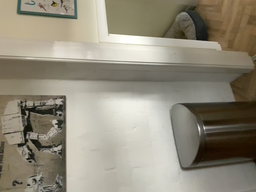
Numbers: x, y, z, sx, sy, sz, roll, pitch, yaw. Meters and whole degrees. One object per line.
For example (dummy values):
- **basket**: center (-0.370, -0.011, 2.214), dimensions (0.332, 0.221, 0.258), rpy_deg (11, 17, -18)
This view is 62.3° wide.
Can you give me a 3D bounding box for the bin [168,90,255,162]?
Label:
- **bin**: center (0.710, 0.210, 1.500), dimensions (0.350, 0.700, 0.390), rpy_deg (126, 140, -62)
